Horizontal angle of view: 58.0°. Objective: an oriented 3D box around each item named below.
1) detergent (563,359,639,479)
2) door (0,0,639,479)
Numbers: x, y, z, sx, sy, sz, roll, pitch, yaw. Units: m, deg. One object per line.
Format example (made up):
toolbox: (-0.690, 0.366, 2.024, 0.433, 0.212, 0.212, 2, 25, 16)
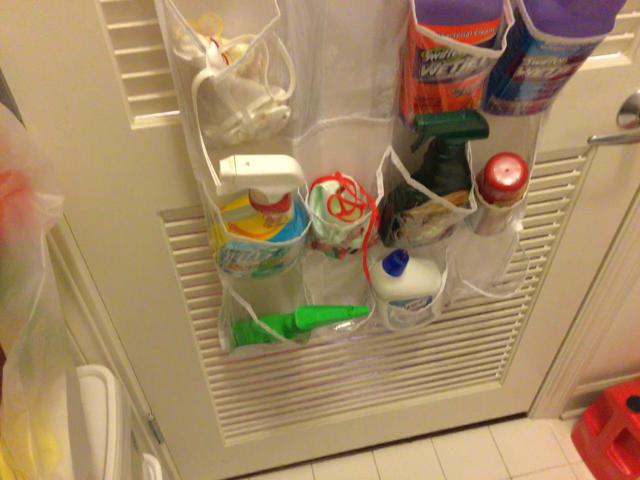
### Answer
detergent: (0.710, 0.410, 1.290, 0.190, 0.280, 0.160, -9, 45, -9)
door: (0.120, -0.160, 0.630, 1.020, 2.040, 0.180, -9, 45, -9)
